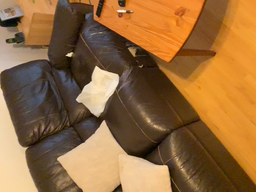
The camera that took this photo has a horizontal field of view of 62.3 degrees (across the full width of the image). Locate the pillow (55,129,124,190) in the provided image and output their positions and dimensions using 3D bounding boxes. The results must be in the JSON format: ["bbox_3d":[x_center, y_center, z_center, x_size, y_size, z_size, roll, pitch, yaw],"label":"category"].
[{"bbox_3d":[-0.230,0.410,1.410,0.090,0.400,0.380,99,173,-46],"label":"pillow"}]

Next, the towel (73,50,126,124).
[{"bbox_3d":[-0.230,-0.060,1.550,0.310,0.100,0.450,52,131,25],"label":"towel"}]

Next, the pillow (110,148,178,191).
[{"bbox_3d":[0.100,0.560,1.260,0.400,0.110,0.450,-9,92,47],"label":"pillow"}]
